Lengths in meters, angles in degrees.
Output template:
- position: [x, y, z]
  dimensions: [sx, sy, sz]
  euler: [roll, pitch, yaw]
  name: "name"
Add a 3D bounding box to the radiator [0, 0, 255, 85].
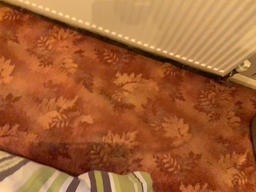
- position: [-0.180, -0.450, 0.840]
  dimensions: [1.460, 0.710, 0.080]
  euler: [19, 69, -3]
  name: "radiator"
